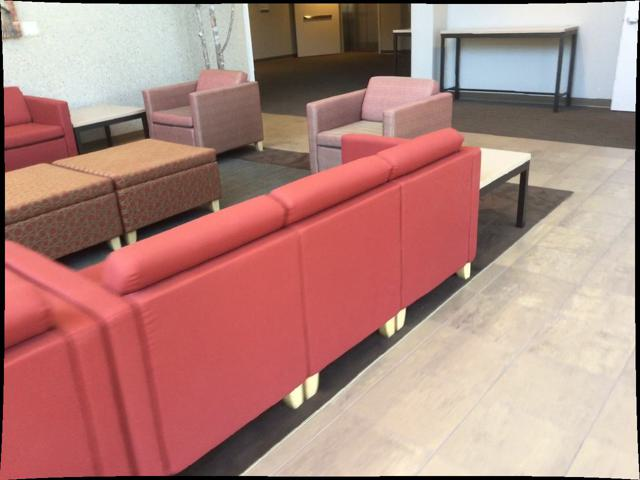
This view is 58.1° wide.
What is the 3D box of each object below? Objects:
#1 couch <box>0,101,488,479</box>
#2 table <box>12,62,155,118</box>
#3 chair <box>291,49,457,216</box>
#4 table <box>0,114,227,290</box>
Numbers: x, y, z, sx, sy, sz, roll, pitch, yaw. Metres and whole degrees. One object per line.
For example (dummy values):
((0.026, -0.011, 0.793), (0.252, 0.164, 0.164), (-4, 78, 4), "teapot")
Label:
((-0.200, 0.060, 2.290), (0.809, 0.811, 2.099), (15, 29, 38), "couch")
((-2.176, -1.412, 5.330), (0.859, 0.340, 0.870), (15, 29, 38), "table")
((0.409, -0.821, 4.150), (0.799, 0.961, 0.840), (14, 29, 38), "chair")
((-1.737, -0.180, 3.200), (0.859, 0.531, 2.389), (15, 29, 38), "table")
